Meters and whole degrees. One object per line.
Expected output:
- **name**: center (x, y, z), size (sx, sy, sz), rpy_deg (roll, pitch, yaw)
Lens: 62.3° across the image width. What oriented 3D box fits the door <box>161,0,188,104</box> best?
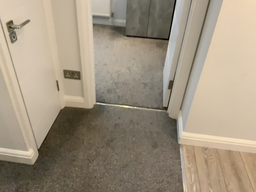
- **door**: center (0.480, -0.910, 1.920), size (0.050, 1.960, 0.720), rpy_deg (8, 37, 4)
